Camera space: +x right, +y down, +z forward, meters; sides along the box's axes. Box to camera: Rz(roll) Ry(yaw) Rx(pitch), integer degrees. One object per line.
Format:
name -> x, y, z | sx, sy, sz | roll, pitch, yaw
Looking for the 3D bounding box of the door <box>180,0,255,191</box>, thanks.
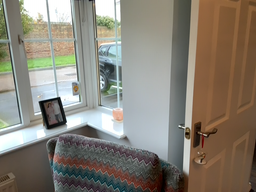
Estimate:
door -> 0.580, 0.100, 1.200 | 0.780, 2.010, 0.070 | -13, 19, -38
